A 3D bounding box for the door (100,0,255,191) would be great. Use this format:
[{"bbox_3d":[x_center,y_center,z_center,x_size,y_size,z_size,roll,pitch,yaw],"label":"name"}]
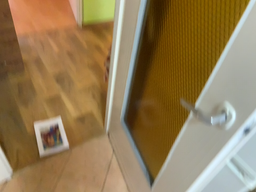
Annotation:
[{"bbox_3d":[0.140,-0.170,0.810,0.140,2.080,0.950,-10,49,-20],"label":"door"}]
